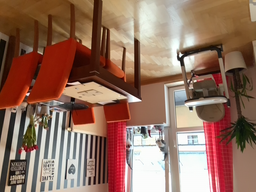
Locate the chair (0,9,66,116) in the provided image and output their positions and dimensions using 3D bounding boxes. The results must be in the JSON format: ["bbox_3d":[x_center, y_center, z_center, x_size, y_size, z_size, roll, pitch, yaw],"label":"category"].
[{"bbox_3d":[-1.080,-0.320,2.330,0.410,0.960,0.580,-8,162,23],"label":"chair"}]

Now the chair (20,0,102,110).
[{"bbox_3d":[-0.610,-0.400,2.100,0.410,0.950,0.580,-9,161,26],"label":"chair"}]

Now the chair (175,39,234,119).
[{"bbox_3d":[1.080,-0.190,3.000,0.610,0.910,0.550,-9,161,27],"label":"chair"}]
